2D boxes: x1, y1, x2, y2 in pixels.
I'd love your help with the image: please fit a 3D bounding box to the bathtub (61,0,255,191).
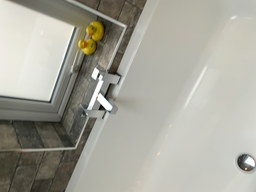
[{"bbox_3d":[0.280,0.250,0.940,0.790,0.550,2.200,39,110,43],"label":"bathtub"}]
